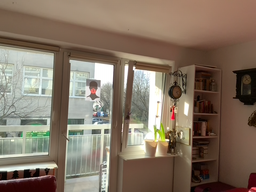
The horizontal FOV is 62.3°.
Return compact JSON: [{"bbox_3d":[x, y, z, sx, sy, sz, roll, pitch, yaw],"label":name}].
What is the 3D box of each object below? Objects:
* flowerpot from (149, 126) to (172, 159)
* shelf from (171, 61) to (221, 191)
[{"bbox_3d":[0.520,0.720,3.350,0.280,0.470,0.200,4,-2,-37],"label":"flowerpot"},{"bbox_3d":[1.100,0.620,3.440,0.650,2.250,0.350,3,-2,-28],"label":"shelf"}]
